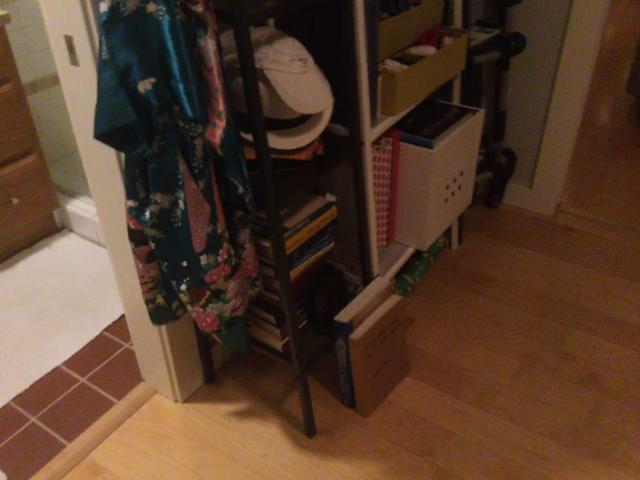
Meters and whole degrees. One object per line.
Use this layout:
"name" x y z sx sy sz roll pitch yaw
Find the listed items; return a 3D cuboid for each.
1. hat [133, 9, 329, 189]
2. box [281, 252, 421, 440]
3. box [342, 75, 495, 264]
"hat" -0.160 -0.290 1.140 0.260 0.240 0.240 18 41 27
"box" 0.090 0.260 1.490 0.200 0.280 0.340 18 41 27
"box" 0.300 -0.230 1.760 0.290 0.380 0.410 18 41 27
